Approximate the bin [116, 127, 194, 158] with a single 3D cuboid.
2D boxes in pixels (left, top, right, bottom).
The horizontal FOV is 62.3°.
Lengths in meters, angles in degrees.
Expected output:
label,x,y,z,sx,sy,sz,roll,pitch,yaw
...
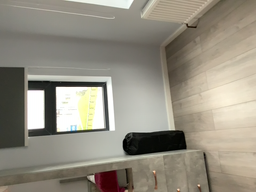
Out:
label,x,y,z,sx,sy,sz,roll,pitch,yaw
bin,0.300,0.500,2.340,0.220,0.820,0.250,150,117,-66
